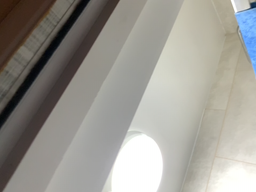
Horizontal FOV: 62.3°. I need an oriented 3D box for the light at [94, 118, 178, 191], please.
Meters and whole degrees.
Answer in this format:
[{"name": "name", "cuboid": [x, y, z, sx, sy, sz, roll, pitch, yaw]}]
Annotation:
[{"name": "light", "cuboid": [0.050, 0.300, 0.860, 0.330, 0.090, 0.320, 32, 68, -42]}]
